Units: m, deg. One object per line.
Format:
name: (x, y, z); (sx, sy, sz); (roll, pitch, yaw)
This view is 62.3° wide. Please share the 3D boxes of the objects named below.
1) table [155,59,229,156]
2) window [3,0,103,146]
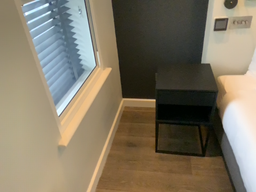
table: (0.460, 0.090, 1.740); (0.460, 0.650, 0.440); (0, 34, 7)
window: (-0.320, -0.490, 1.020); (0.040, 1.250, 0.790); (1, 35, 9)
